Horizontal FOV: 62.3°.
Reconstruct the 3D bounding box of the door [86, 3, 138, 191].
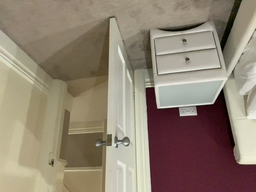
[{"bbox_3d":[-0.060,0.480,1.350,0.140,2.030,0.770,-5,157,9],"label":"door"}]
